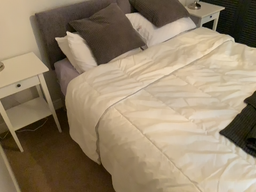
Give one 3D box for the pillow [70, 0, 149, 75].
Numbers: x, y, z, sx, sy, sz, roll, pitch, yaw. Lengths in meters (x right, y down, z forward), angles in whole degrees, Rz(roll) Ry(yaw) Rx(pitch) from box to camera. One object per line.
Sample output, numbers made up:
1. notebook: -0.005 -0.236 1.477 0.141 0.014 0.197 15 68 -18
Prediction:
1. pillow: -0.140 -0.520 1.790 0.550 0.340 0.220 -48 51 -5
